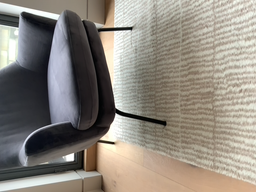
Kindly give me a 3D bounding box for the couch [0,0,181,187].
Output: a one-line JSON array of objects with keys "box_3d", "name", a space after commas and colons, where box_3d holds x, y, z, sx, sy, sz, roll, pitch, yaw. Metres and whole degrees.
[{"box_3d": [-0.370, 0.000, 1.100, 0.730, 0.800, 0.700, -45, 51, 48], "name": "couch"}]
